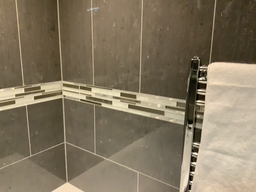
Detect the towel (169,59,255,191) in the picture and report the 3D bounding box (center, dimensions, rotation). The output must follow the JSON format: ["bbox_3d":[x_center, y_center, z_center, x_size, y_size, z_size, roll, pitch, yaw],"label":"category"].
[{"bbox_3d":[0.320,0.280,0.720,0.320,0.780,0.130,10,16,34],"label":"towel"}]
